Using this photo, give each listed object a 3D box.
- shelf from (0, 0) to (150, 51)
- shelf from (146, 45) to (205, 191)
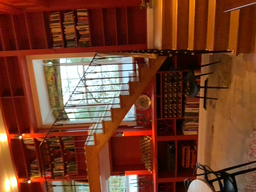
[{"bbox_3d":[-1.300,-1.500,4.480,0.270,3.470,0.970,-92,0,-76],"label":"shelf"},{"bbox_3d":[1.060,1.280,5.080,0.600,1.110,4.820,-92,0,-76],"label":"shelf"}]
